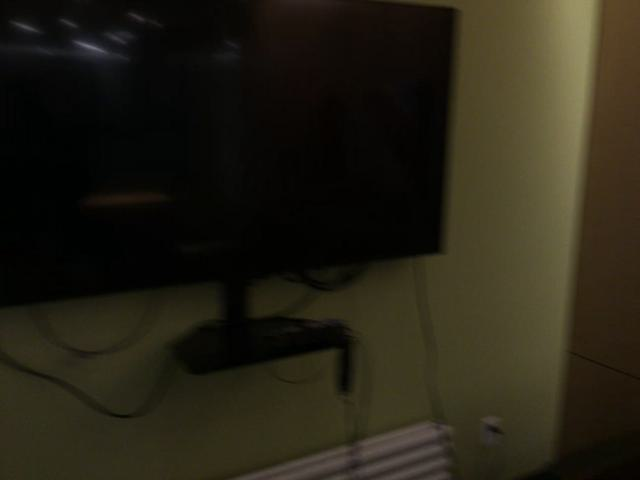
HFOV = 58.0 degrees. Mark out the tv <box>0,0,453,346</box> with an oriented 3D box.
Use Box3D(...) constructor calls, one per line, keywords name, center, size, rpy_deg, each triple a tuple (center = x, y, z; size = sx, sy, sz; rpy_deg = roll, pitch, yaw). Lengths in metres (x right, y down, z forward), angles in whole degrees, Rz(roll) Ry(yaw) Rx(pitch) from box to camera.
Box3D(name="tv", center=(-0.210, -0.270, 1.530), size=(1.290, 0.820, 0.190), rpy_deg=(-8, 12, -28))
